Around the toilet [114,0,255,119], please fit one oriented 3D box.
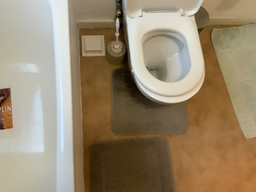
[{"bbox_3d":[0.190,-0.310,1.020,0.400,0.890,0.670,-4,75,-9],"label":"toilet"}]
